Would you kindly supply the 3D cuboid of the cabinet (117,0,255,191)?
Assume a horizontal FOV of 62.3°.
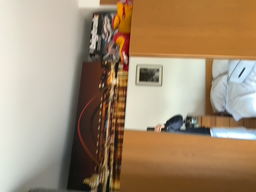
[{"bbox_3d":[1.000,0.070,1.580,0.670,1.990,1.510,51,-138,-80],"label":"cabinet"}]
